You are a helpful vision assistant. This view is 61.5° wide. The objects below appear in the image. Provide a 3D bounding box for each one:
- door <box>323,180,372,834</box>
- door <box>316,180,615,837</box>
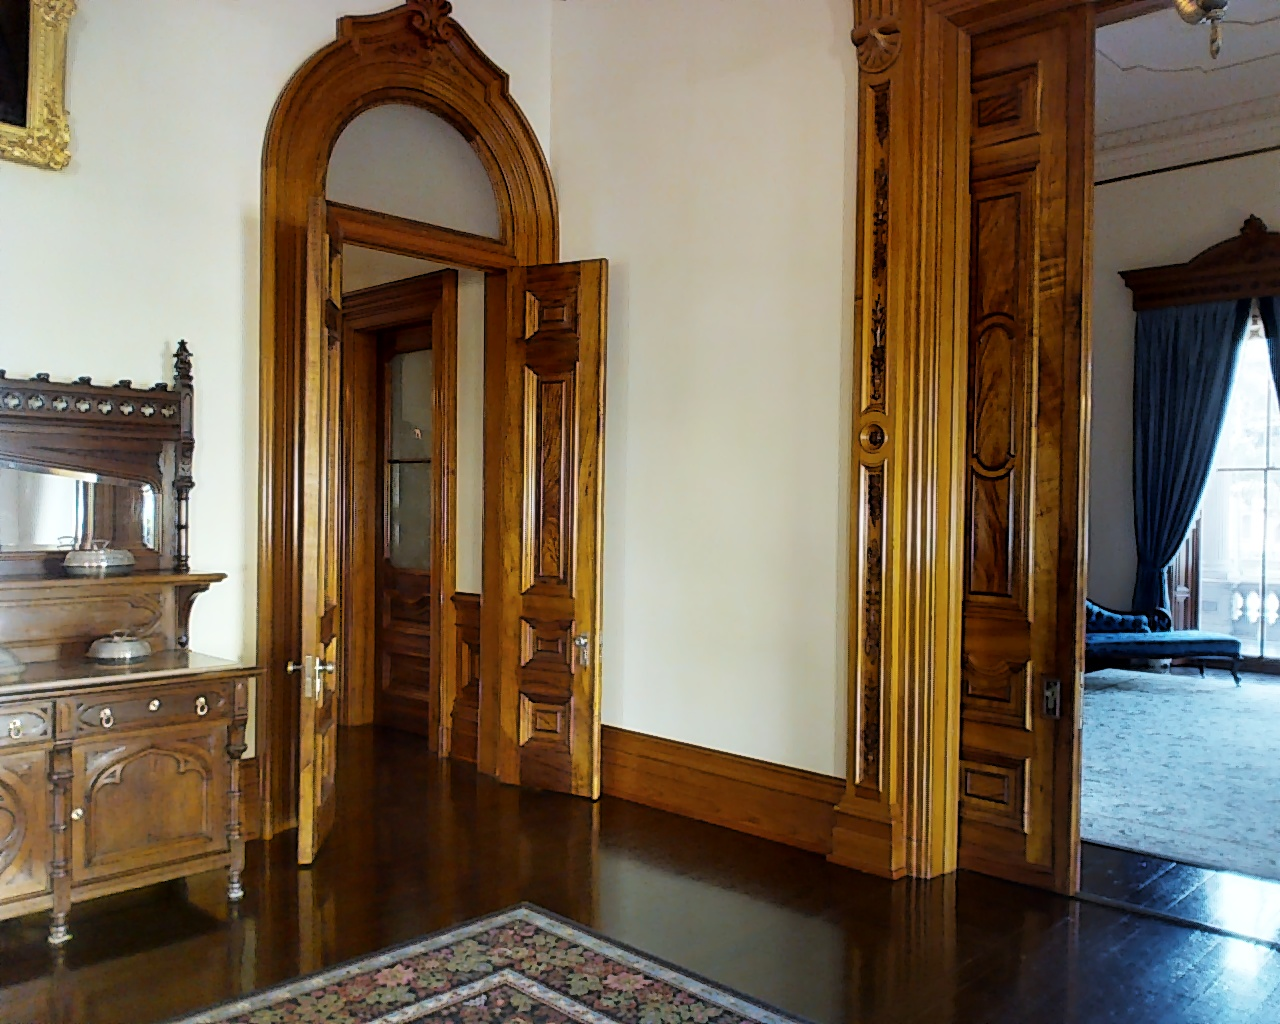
[{"bbox_3d":[-1.360,-0.020,5.020,0.100,2.880,0.560,1,1,-6],"label":"door"},{"bbox_3d":[-0.810,-0.010,5.400,1.610,2.900,0.230,0,1,-45],"label":"door"}]
